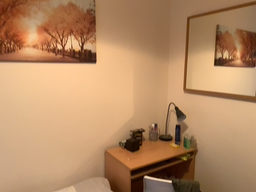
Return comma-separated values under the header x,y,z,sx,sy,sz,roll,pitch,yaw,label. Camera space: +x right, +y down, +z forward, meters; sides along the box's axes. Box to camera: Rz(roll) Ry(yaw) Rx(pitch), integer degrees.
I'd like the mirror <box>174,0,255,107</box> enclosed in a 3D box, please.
x,y,z,sx,sy,sz,roll,pitch,yaw,label
0.750,-0.350,1.810,0.070,0.770,0.880,-4,10,-32,mirror

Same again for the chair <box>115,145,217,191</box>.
x,y,z,sx,sy,sz,roll,pitch,yaw,label
0.340,0.920,1.770,0.680,0.720,0.670,4,9,20,chair
